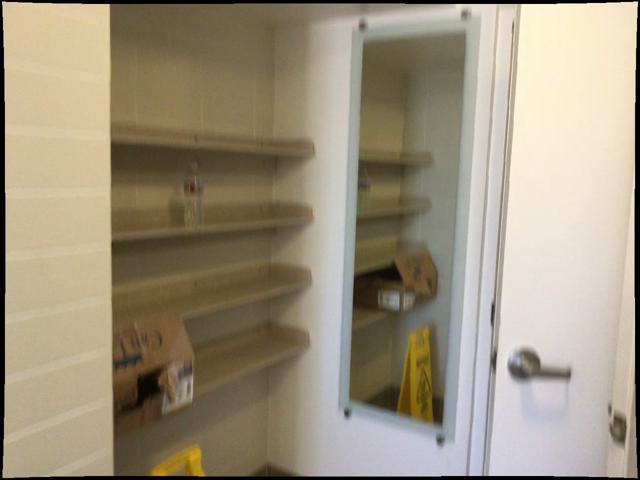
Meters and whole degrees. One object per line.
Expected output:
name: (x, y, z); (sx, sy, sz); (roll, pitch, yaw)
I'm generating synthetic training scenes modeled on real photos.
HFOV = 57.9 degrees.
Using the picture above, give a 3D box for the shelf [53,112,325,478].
shelf: (-0.390, 0.110, 2.080); (0.280, 1.031, 1.000); (7, 10, 34)
